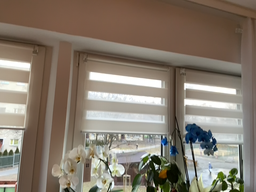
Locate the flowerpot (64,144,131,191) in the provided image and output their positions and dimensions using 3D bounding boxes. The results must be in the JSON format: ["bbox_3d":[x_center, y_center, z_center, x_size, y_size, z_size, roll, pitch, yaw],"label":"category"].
[{"bbox_3d":[-0.180,0.540,1.190,0.300,0.510,0.250,6,-10,-25],"label":"flowerpot"}]

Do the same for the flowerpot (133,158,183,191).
[{"bbox_3d":[0.180,0.640,1.320,0.250,0.470,0.190,5,-9,-19],"label":"flowerpot"}]
